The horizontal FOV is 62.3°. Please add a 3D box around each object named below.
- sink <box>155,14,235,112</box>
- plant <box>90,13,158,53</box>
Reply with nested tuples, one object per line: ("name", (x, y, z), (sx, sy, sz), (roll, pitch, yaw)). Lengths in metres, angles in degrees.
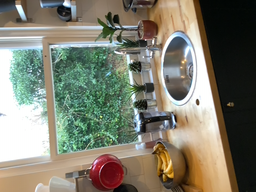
("sink", (0.370, -0.170, 1.320), (0.460, 0.190, 0.460), (138, 126, -72))
("plant", (-0.040, -0.460, 1.570), (0.230, 0.440, 0.190), (145, 120, -73))
